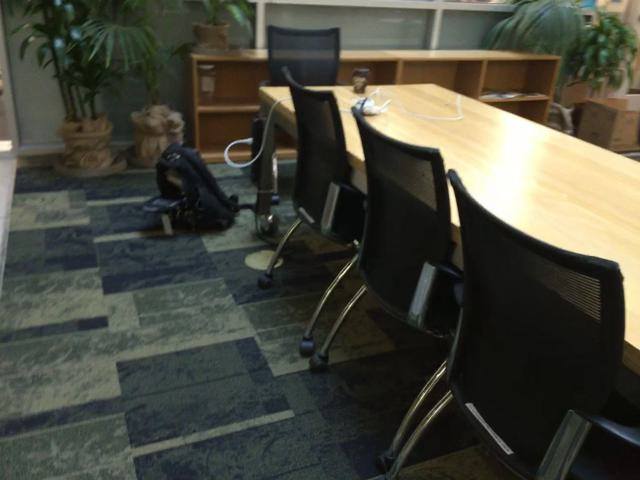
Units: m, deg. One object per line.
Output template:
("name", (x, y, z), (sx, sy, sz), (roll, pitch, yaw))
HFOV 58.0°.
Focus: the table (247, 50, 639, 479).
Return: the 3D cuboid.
("table", (0.580, -0.030, 2.060), (1.160, 0.860, 2.520), (-6, 28, -18))
